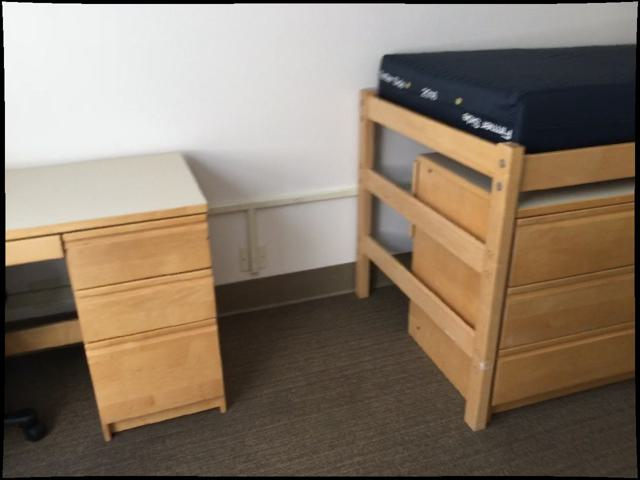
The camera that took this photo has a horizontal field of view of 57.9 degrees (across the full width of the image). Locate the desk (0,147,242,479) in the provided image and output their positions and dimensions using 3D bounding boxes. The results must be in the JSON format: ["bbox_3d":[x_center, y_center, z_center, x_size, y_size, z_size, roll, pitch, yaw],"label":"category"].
[{"bbox_3d":[-1.009,0.230,1.840,1.329,0.741,0.750,-9,26,-17],"label":"desk"}]
